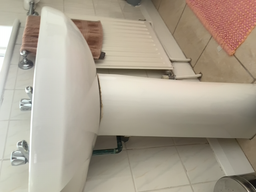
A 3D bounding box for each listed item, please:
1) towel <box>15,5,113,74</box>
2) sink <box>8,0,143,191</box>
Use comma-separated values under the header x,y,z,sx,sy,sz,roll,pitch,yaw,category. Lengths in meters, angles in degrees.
x,y,z,sx,sy,sz,roll,pitch,yaw,category
-0.310,-0.290,1.060,0.080,0.400,0.420,110,153,-45,towel
-0.170,0.000,0.610,0.430,0.170,0.580,109,154,-44,sink
